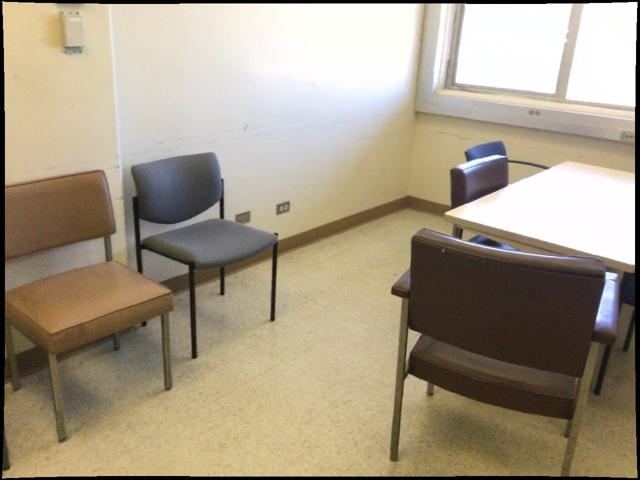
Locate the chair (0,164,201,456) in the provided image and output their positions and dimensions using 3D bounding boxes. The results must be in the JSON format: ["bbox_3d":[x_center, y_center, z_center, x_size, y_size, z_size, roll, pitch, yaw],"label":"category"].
[{"bbox_3d":[-0.888,0.211,2.190,0.599,0.802,0.560,20,29,36],"label":"chair"}]

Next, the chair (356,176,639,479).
[{"bbox_3d":[0.598,0.321,1.920,0.719,0.832,0.630,13,25,24],"label":"chair"}]

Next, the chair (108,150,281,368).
[{"bbox_3d":[-0.578,0.050,2.730,0.629,0.772,0.480,21,29,38],"label":"chair"}]
